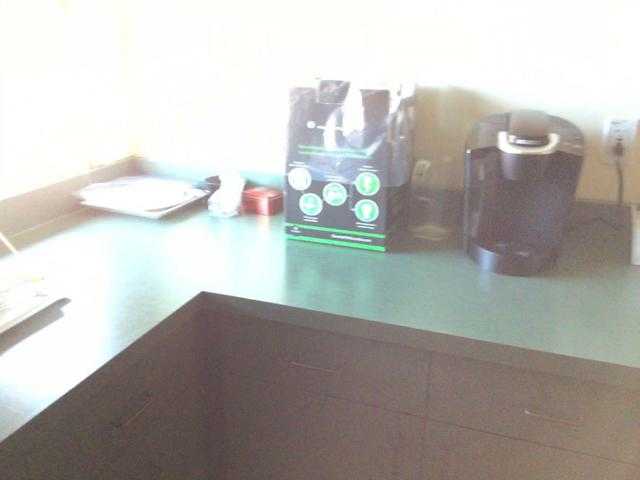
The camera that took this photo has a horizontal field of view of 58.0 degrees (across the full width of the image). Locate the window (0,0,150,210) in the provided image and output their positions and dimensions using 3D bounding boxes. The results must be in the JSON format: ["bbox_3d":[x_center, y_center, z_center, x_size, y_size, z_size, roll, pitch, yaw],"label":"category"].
[{"bbox_3d":[-0.810,-0.390,1.290,0.180,0.640,1.050,3,16,20],"label":"window"}]
